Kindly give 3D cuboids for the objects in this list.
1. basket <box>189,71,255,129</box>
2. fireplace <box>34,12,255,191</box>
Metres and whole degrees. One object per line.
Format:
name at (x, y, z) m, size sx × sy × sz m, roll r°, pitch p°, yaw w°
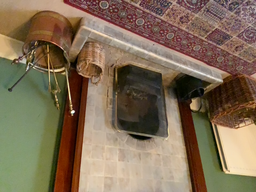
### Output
basket at (1.080, 0.080, 2.220) m, size 0.570 × 0.280 × 0.570 m, roll 15°, pitch 146°, yaw -27°
fireplace at (0.160, 0.350, 1.610) m, size 1.410 × 1.310 × 0.680 m, roll 16°, pitch 146°, yaw -28°
